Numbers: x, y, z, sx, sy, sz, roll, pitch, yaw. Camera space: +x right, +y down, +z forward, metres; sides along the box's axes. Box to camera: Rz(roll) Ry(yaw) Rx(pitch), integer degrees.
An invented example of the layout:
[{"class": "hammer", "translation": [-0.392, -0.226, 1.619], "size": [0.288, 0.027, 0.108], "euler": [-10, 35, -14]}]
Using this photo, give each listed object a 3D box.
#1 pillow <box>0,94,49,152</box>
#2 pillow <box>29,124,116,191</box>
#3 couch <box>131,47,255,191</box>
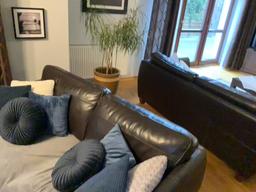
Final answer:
[{"class": "pillow", "translation": [-0.980, 0.180, 1.700], "size": [0.640, 0.340, 0.150], "euler": [23, 42, -1]}, {"class": "pillow", "translation": [-0.340, 0.430, 1.390], "size": [0.380, 0.240, 0.390], "euler": [15, 26, 17]}, {"class": "couch", "translation": [1.100, 0.020, 2.930], "size": [1.090, 0.840, 2.140], "euler": [-10, 29, -30]}]
